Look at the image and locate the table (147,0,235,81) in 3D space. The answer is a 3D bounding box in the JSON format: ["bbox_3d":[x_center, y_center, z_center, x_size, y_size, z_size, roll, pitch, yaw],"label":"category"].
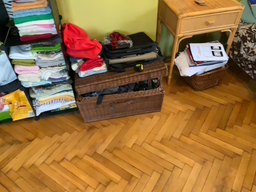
[{"bbox_3d":[0.570,-0.610,2.170,0.640,0.740,0.410,-9,45,-8],"label":"table"}]
